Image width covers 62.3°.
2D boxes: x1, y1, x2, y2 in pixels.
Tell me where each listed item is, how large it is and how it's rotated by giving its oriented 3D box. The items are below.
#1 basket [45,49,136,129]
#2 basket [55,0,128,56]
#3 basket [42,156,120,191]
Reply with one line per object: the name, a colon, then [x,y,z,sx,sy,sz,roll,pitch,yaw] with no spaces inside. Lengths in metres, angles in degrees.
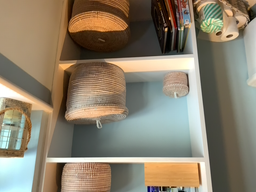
basket: [-0.160,-0.010,1.140,0.370,0.310,0.360,-2,161,7]
basket: [-0.180,-0.470,1.260,0.320,0.300,0.380,-1,162,6]
basket: [-0.200,0.410,1.020,0.280,0.220,0.300,-2,161,7]
